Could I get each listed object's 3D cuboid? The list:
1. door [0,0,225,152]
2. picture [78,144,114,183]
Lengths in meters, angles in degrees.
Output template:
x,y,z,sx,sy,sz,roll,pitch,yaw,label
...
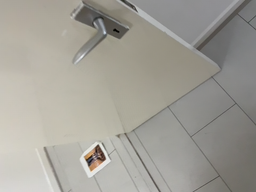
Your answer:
x,y,z,sx,sy,sz,roll,pitch,yaw,label
-0.280,0.000,0.600,0.750,2.040,0.030,-37,67,27,door
-0.280,0.580,1.810,0.300,0.060,0.190,-44,64,25,picture
